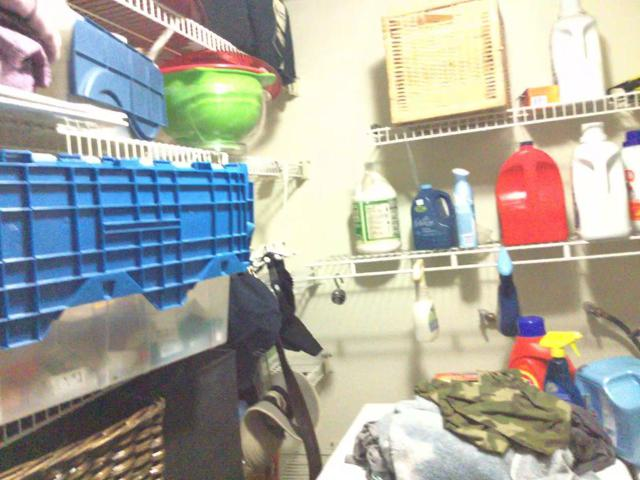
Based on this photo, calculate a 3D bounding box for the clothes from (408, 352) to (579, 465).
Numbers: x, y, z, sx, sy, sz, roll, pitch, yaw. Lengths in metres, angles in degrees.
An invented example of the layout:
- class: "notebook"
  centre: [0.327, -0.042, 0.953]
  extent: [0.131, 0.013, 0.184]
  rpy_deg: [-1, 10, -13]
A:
- class: "clothes"
  centre: [0.390, 0.360, 1.300]
  extent: [0.310, 0.120, 0.370]
  rpy_deg: [-5, 2, 19]

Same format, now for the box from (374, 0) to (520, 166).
- class: "box"
  centre: [0.390, -0.490, 1.720]
  extent: [0.350, 0.480, 0.360]
  rpy_deg: [-5, 2, 19]

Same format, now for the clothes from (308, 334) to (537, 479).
- class: "clothes"
  centre: [0.330, 0.430, 1.540]
  extent: [0.440, 0.160, 0.870]
  rpy_deg: [-5, 2, 19]

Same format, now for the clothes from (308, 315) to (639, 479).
- class: "clothes"
  centre: [0.350, 0.370, 1.320]
  extent: [0.600, 0.290, 0.480]
  rpy_deg: [-5, 2, 19]
